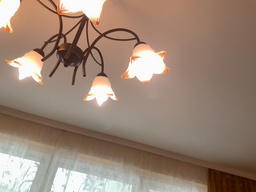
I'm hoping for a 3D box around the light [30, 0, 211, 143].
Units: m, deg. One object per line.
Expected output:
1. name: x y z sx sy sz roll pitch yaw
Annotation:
1. light: -0.130 -0.180 1.010 0.440 0.750 0.470 -29 -100 -34
